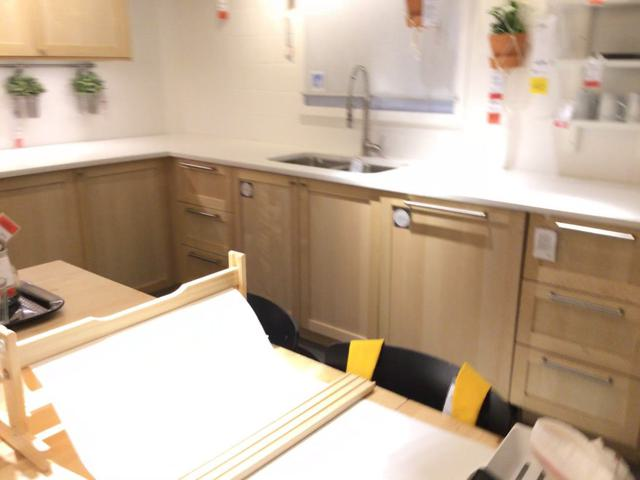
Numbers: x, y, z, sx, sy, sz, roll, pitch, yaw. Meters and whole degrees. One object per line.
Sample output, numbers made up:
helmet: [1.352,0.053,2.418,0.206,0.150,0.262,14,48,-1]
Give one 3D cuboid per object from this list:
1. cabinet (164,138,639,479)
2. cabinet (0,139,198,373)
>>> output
cabinet: [0.300,0.090,2.750,2.470,0.900,0.660,14,21,38]
cabinet: [-1.450,0.050,2.830,0.540,0.910,1.650,14,21,38]
